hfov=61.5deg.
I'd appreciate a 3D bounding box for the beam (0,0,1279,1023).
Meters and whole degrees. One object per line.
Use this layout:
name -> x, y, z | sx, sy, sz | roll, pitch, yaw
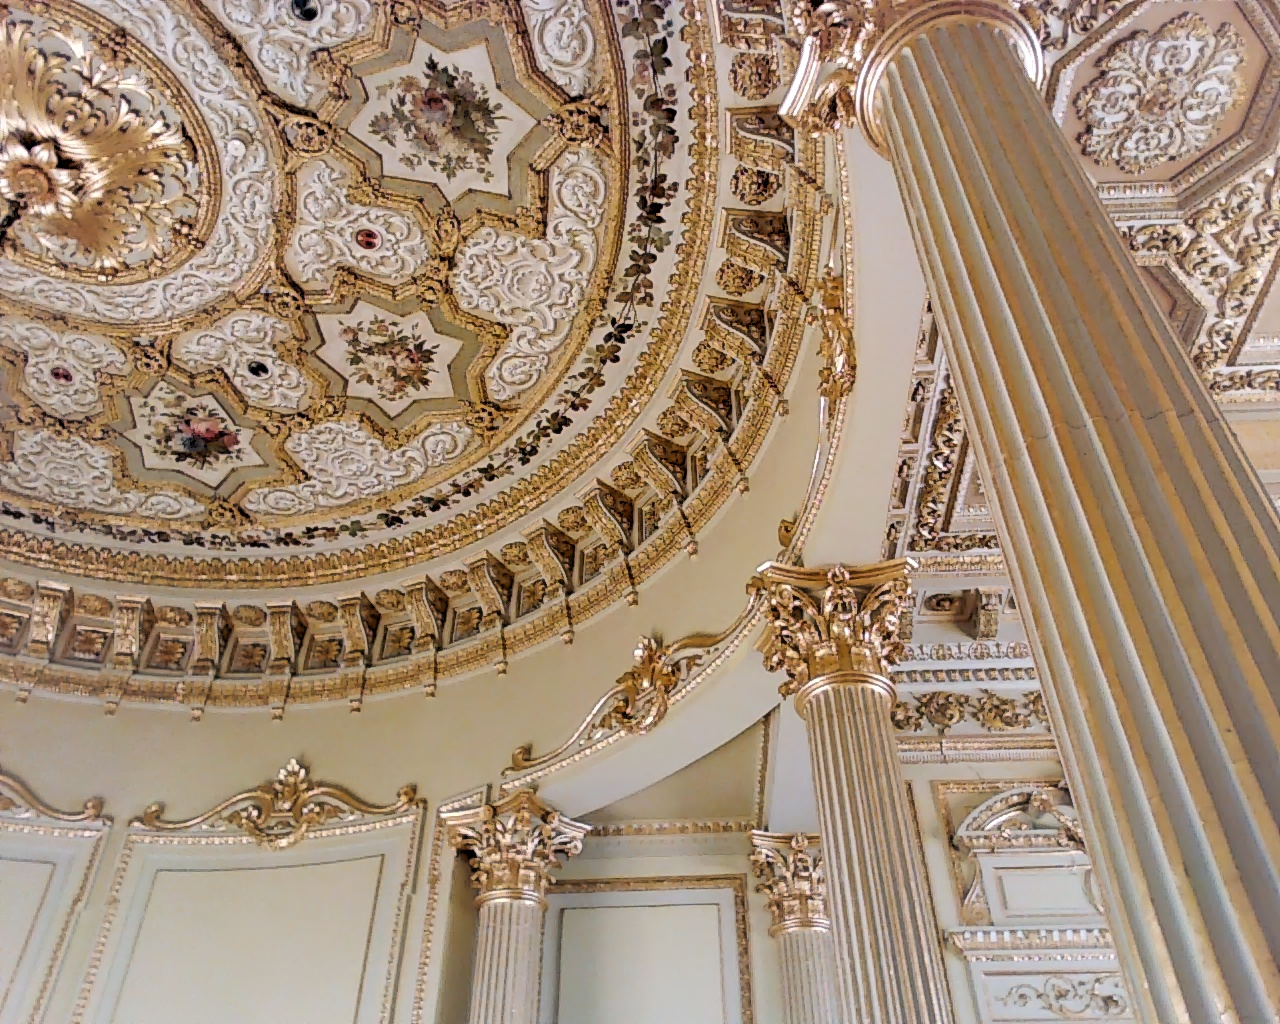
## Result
beam -> 0.270, 0.821, 2.600 | 1.679, 4.282, 6.892 | -2, -42, 3
